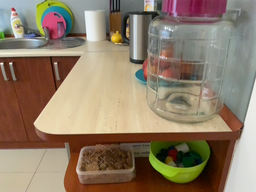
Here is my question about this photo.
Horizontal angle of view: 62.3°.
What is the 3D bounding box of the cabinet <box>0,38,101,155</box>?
[{"bbox_3d":[-0.800,-0.020,1.870,1.010,0.860,0.590,0,26,-1],"label":"cabinet"}]
